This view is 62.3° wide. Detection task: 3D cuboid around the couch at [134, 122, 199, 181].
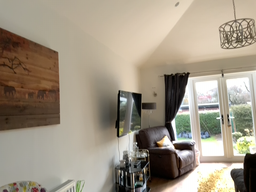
[{"bbox_3d":[0.870,1.120,4.660,0.850,0.970,1.170,-7,-4,39],"label":"couch"}]
